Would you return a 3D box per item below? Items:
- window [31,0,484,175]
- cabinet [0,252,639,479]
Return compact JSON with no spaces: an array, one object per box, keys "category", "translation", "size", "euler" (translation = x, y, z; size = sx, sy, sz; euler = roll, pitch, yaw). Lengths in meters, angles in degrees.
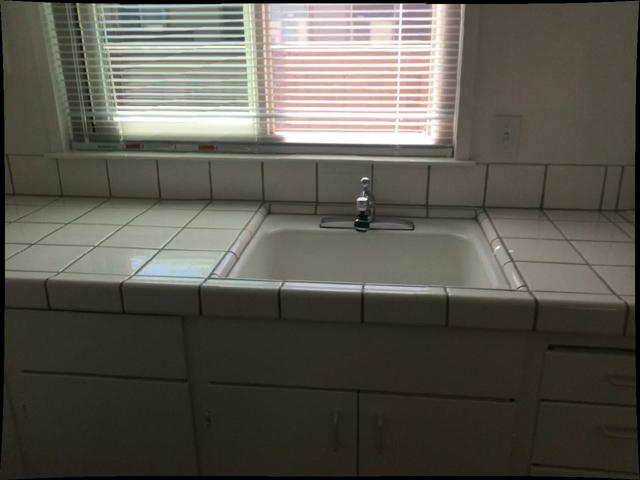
[{"category":"window","translation":[-0.170,-0.781,1.550],"size":[1.188,1.132,0.240],"euler":[3,21,6]},{"category":"cabinet","translation":[-0.260,0.521,1.320],"size":[2.127,0.961,0.120],"euler":[3,21,6]}]
